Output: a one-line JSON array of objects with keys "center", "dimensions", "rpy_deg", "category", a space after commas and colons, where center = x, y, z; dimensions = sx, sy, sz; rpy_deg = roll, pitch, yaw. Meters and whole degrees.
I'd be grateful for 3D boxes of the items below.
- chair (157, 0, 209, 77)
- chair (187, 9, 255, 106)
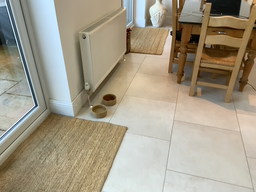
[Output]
[{"center": [0.710, -0.820, 2.770], "dimensions": [0.490, 0.980, 0.460], "rpy_deg": [12, 35, 15], "category": "chair"}, {"center": [0.970, -0.420, 2.290], "dimensions": [0.440, 0.860, 0.490], "rpy_deg": [13, 35, 17], "category": "chair"}]
